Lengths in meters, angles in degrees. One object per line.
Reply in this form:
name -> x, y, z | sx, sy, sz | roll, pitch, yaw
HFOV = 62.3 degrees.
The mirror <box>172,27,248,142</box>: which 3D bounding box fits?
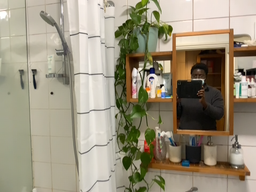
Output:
mirror -> 0.480, -0.060, 1.280 | 0.420, 0.660, 0.040 | 0, 4, 14
